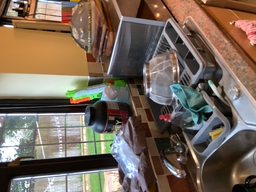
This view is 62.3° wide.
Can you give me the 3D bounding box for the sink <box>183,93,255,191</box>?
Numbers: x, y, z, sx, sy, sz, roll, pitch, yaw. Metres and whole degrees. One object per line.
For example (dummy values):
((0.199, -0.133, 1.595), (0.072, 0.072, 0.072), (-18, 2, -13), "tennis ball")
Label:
((0.470, 0.320, 0.760), (0.520, 0.190, 0.420), (111, 152, -45), "sink")
